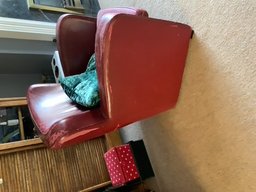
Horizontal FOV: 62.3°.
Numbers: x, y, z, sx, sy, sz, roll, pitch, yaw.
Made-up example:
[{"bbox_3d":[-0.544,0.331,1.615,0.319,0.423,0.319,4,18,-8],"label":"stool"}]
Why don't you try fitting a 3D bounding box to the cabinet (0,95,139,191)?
[{"bbox_3d":[-0.620,0.480,1.810,0.420,1.200,0.800,-41,60,49],"label":"cabinet"}]
